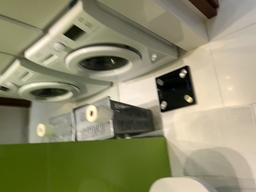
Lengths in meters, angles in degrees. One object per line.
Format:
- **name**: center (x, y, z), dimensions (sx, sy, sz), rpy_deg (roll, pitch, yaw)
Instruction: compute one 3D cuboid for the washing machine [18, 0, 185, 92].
- **washing machine**: center (-0.170, -0.410, 1.470), dimensions (0.700, 0.850, 0.490), rpy_deg (-19, 71, 39)
